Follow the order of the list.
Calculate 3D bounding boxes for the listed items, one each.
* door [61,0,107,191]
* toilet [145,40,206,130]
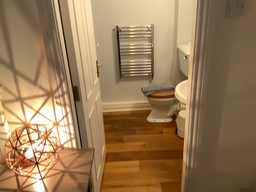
[{"bbox_3d":[-0.300,-0.180,1.620,0.040,1.950,0.740,-2,23,2],"label":"door"},{"bbox_3d":[0.540,-0.150,2.690,0.610,1.000,0.530,-2,23,1],"label":"toilet"}]
